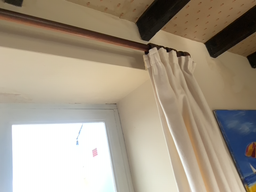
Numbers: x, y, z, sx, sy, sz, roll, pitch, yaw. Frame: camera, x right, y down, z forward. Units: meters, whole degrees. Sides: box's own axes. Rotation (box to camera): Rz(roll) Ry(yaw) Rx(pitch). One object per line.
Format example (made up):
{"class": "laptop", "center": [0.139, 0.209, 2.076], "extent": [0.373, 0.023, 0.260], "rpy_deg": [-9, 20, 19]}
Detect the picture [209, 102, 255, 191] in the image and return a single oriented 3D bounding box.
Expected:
{"class": "picture", "center": [0.920, 0.350, 1.490], "extent": [0.750, 0.630, 0.040], "rpy_deg": [3, -26, -35]}
